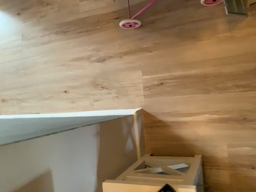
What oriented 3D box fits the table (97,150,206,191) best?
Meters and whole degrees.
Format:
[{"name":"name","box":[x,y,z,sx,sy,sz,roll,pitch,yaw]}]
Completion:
[{"name":"table","box":[0.140,0.430,0.860,0.310,0.460,0.310,-6,88,22]}]
